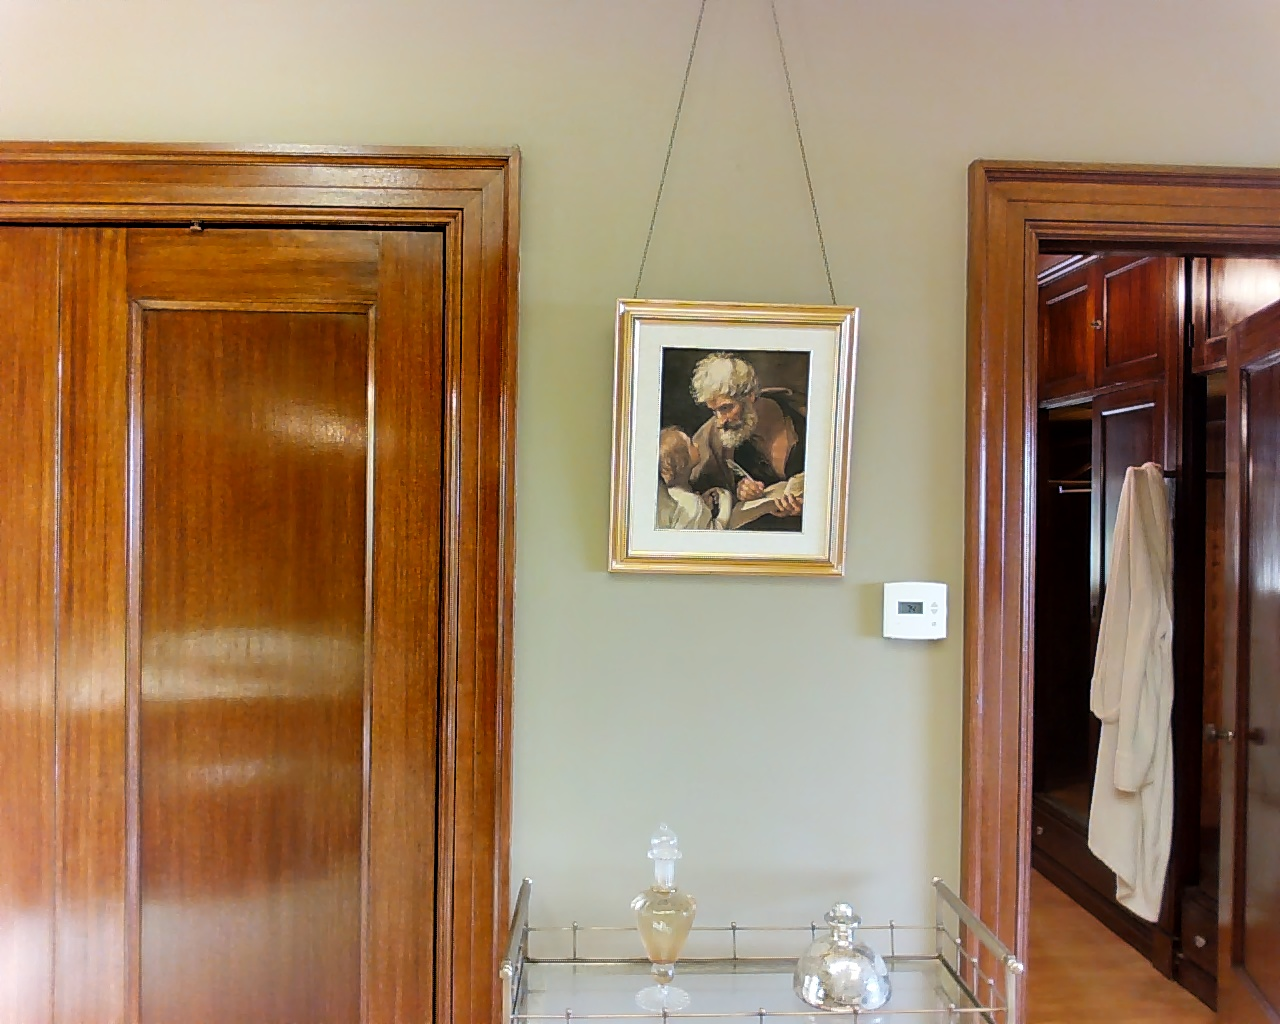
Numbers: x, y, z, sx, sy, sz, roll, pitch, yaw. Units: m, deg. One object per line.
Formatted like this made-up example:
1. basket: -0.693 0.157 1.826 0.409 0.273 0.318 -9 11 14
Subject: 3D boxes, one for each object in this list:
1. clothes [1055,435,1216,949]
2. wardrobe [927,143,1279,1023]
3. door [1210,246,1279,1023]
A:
1. clothes: 1.670 0.580 3.660 0.340 1.650 0.390 1 0 -2
2. wardrobe: 1.770 0.260 4.250 0.110 2.570 3.690 1 0 -2
3. door: 1.620 0.450 2.800 0.040 2.200 0.820 1 0 15
